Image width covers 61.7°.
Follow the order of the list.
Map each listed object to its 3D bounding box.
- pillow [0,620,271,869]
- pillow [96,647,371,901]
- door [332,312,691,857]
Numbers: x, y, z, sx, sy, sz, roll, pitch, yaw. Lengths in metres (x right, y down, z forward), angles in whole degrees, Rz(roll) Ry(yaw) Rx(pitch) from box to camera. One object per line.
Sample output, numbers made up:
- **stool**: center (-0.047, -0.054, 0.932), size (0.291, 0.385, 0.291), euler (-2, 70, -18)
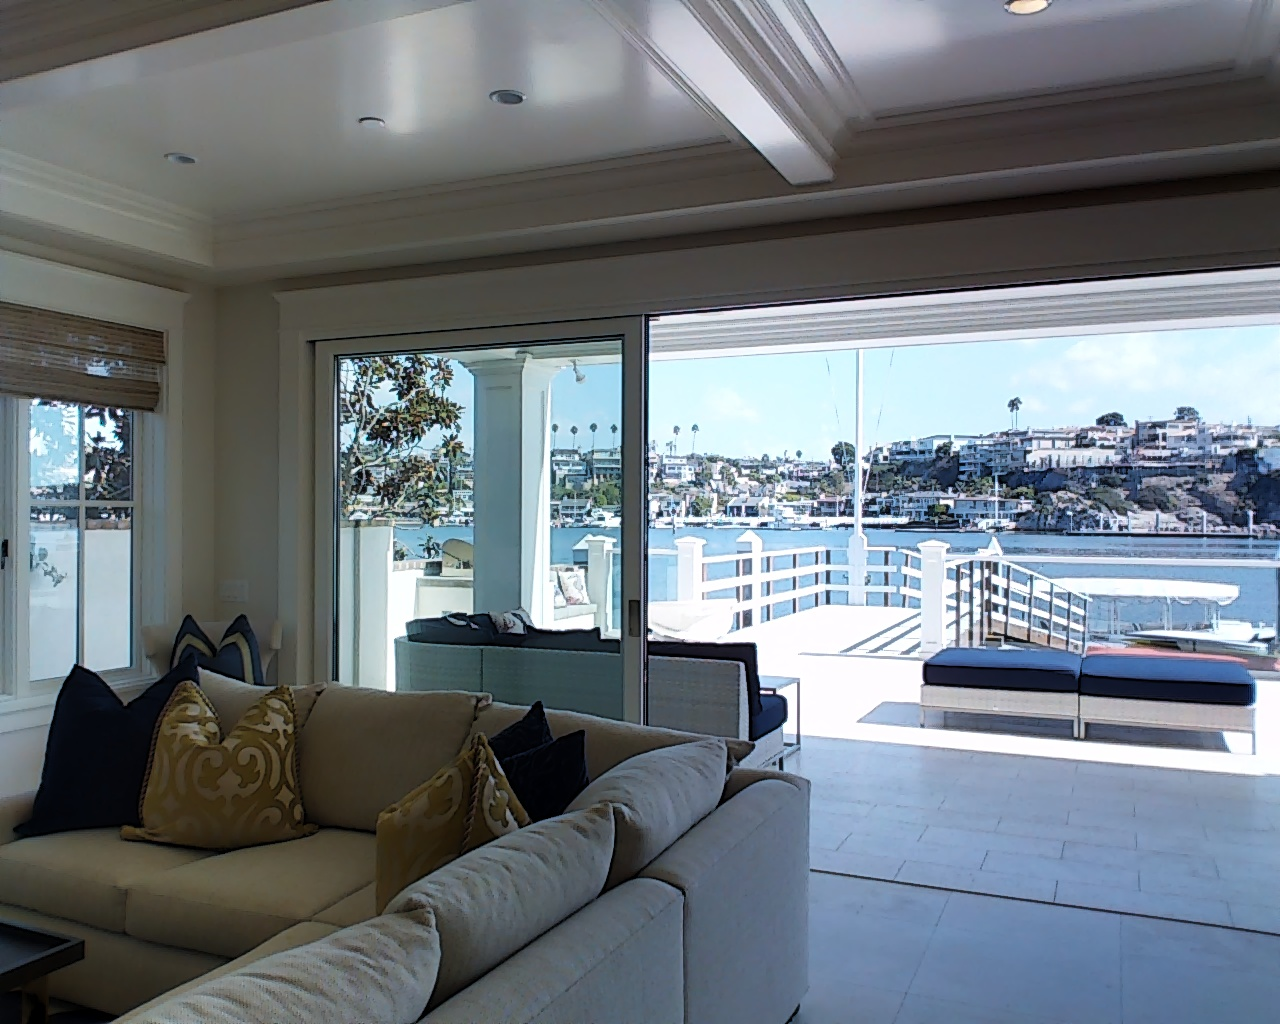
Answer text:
- **pillow**: center (-1.679, 0.780, 3.600), size (0.670, 0.590, 0.460), euler (-15, -10, -26)
- **pillow**: center (-1.269, 0.820, 3.420), size (0.640, 0.560, 0.380), euler (-18, -9, -14)
- **door**: center (-0.680, 0.320, 5.220), size (1.929, 2.411, 0.170), euler (0, 0, 25)
